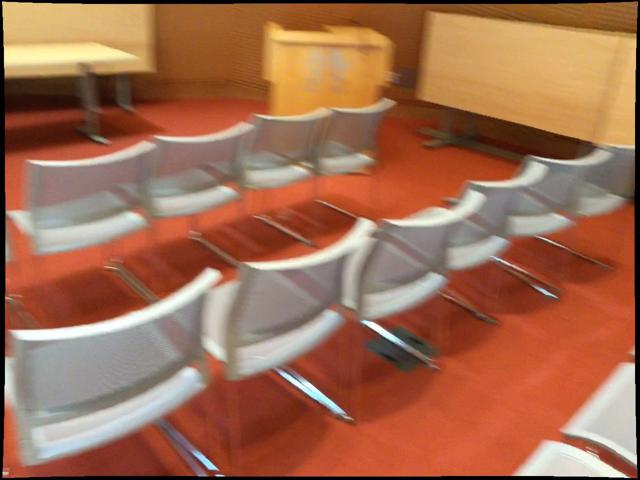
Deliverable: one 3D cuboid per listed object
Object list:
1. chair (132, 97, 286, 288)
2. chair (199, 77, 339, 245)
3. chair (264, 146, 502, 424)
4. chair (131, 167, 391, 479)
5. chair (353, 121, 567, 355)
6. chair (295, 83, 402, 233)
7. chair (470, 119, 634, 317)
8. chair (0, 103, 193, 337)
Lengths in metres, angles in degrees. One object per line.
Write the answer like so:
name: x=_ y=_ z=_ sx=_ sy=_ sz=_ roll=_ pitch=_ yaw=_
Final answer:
chair: x=-0.490 y=-0.250 z=2.730 sx=0.240 sy=0.701 sz=0.690 roll=22 pitch=32 yaw=32
chair: x=-0.280 y=-0.440 z=3.050 sx=0.500 sy=0.691 sz=0.520 roll=-16 pitch=33 yaw=-34
chair: x=0.210 y=0.120 z=2.180 sx=0.590 sy=0.721 sz=0.580 roll=25 pitch=33 yaw=35
chair: x=-0.200 y=0.220 z=1.860 sx=0.530 sy=0.681 sz=0.570 roll=-19 pitch=35 yaw=-38
chair: x=0.589 y=-0.050 z=2.530 sx=0.640 sy=0.731 sz=0.540 roll=-21 pitch=36 yaw=-40
chair: x=0.150 y=-0.470 z=3.260 sx=0.510 sy=0.731 sz=0.240 roll=-16 pitch=33 yaw=-34
chair: x=1.089 y=-0.130 z=2.720 sx=0.720 sy=0.721 sz=0.280 roll=-21 pitch=36 yaw=-39
chair: x=-0.979 y=-0.130 z=2.450 sx=0.640 sy=0.711 sz=0.570 roll=-18 pitch=34 yaw=-36
